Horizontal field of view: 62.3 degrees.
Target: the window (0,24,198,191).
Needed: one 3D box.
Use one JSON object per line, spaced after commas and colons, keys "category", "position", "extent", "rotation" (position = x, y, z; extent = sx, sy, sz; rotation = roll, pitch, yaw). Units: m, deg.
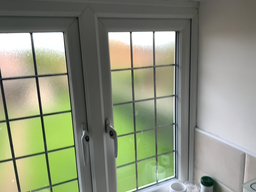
{"category": "window", "position": [-0.120, 0.140, 0.890], "extent": [1.000, 0.830, 0.050], "rotation": [-8, 14, -24]}
